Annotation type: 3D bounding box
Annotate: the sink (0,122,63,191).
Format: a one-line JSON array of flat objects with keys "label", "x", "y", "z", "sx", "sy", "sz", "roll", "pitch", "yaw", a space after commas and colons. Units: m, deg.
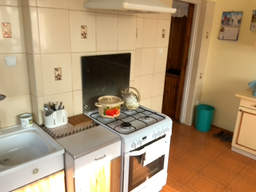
[{"label": "sink", "x": -0.780, "y": 0.410, "z": 1.520, "sx": 0.400, "sy": 0.170, "sz": 0.540, "roll": -13, "pitch": 24, "yaw": -41}]
